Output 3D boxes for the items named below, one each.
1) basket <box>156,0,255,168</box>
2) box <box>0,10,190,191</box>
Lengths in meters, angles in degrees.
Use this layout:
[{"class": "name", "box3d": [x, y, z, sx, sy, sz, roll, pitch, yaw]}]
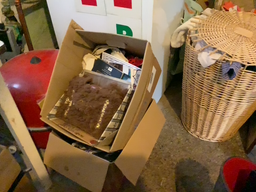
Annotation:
[{"class": "basket", "box3d": [0.500, -0.090, 1.150, 0.450, 0.630, 0.540, 23, 48, 24]}, {"class": "box", "box3d": [-0.110, 0.090, 0.930, 0.480, 0.660, 0.520, 22, 48, 23]}]
